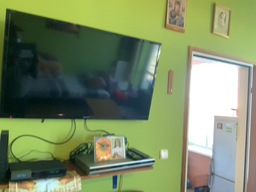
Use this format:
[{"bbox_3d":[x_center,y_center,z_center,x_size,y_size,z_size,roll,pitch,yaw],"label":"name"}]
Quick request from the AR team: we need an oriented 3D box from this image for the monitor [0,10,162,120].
[{"bbox_3d":[-0.230,-0.130,1.330,0.960,0.550,0.100,3,3,-28],"label":"monitor"}]
